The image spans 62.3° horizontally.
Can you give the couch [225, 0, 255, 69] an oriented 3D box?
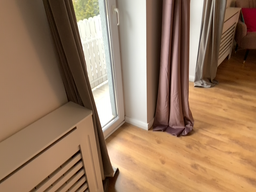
[{"bbox_3d":[2.160,-1.010,3.400,0.790,0.910,0.730,-1,31,5],"label":"couch"}]
